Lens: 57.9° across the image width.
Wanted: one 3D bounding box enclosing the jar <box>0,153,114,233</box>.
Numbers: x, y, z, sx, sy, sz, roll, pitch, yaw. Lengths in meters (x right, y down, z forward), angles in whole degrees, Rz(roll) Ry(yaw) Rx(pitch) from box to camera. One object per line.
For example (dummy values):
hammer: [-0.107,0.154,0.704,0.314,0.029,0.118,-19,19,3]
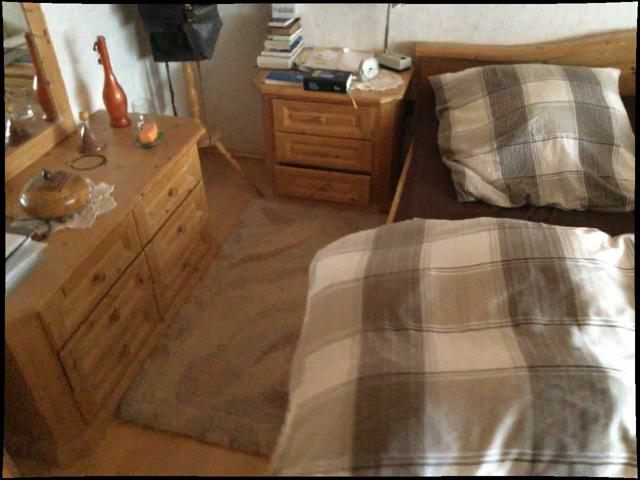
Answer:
jar: [-0.759,-0.140,1.670,0.220,0.110,0.200,9,40,14]
